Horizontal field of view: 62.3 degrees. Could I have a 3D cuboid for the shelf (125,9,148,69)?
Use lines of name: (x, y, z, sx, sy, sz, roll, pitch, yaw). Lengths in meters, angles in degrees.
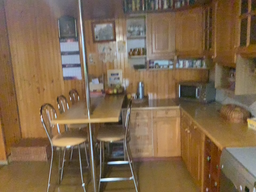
shelf: (0.130, -0.840, 3.210, 0.300, 0.840, 0.290, -2, 11, 1)
